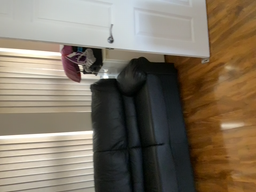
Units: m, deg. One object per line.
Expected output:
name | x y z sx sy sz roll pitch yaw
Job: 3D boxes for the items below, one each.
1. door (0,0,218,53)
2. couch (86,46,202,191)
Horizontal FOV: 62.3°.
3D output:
door | -0.130 -0.850 1.710 0.030 2.120 0.840 161 108 -66
couch | 0.100 0.600 2.520 0.970 0.920 2.020 148 120 -63
